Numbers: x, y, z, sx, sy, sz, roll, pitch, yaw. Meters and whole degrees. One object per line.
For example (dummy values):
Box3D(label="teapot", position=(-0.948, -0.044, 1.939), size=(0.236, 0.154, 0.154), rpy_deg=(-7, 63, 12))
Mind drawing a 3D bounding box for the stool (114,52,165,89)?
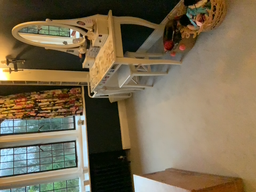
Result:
Box3D(label="stool", position=(0.120, -0.280, 2.520), size=(0.400, 0.450, 0.270), rpy_deg=(137, 129, -60))

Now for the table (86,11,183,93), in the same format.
Box3D(label="table", position=(-0.010, -0.410, 2.460), size=(1.020, 0.730, 0.500), rpy_deg=(148, 119, -64))

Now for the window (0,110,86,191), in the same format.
Box3D(label="window", position=(-1.340, 1.620, 3.200), size=(0.210, 1.380, 2.790), rpy_deg=(142, 124, -62))
